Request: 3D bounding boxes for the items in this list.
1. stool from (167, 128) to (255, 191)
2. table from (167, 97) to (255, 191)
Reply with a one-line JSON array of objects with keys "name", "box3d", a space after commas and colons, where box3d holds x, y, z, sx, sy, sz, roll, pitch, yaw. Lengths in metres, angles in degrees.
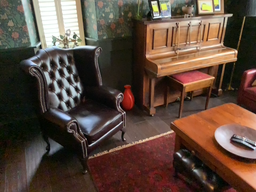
[{"name": "stool", "box3d": [0.730, 0.620, 1.870, 0.530, 0.320, 0.530, -13, 30, -23]}, {"name": "table", "box3d": [1.100, 0.650, 1.560, 0.800, 0.530, 1.570, -13, 30, -23]}]
